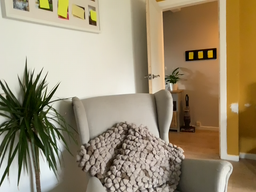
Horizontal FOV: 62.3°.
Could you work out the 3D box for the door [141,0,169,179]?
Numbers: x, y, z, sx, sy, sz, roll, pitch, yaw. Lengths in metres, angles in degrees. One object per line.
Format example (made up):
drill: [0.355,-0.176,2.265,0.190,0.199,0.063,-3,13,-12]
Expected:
door: [0.370,-0.150,2.670,0.140,2.070,0.830,0,7,18]

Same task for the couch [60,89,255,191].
couch: [0.080,0.500,1.340,0.820,0.960,1.030,-6,8,-22]
